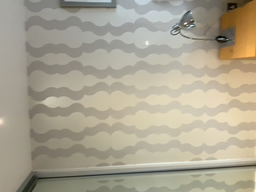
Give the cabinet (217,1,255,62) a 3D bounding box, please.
[{"bbox_3d":[1.150,-0.500,1.770,0.500,0.550,0.400,-137,47,-81],"label":"cabinet"}]
